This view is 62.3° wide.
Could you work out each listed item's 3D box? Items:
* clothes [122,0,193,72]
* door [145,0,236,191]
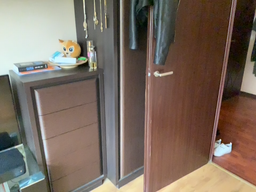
[{"bbox_3d":[0.180,-0.600,1.340,0.310,0.800,0.320,-15,26,-34],"label":"clothes"},{"bbox_3d":[0.510,-0.160,1.730,0.820,1.970,0.100,-15,26,-33],"label":"door"}]
